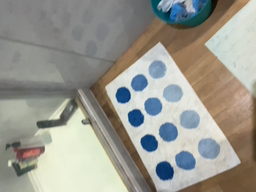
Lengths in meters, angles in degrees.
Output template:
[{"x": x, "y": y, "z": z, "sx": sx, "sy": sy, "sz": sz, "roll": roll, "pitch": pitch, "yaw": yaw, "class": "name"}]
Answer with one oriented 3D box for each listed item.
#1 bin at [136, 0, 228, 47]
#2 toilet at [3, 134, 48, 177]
[{"x": 0.280, "y": -0.480, "z": 1.090, "sx": 0.310, "sy": 0.270, "sz": 0.260, "roll": -40, "pitch": 71, "yaw": 25, "class": "bin"}, {"x": -0.820, "y": 0.470, "z": 1.690, "sx": 0.250, "sy": 0.180, "sz": 0.200, "roll": -40, "pitch": 71, "yaw": 25, "class": "toilet"}]
